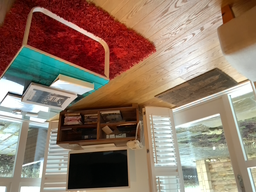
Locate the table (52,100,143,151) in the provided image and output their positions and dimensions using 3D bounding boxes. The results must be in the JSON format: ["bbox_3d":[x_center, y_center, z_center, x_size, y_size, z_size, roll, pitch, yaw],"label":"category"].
[{"bbox_3d":[-0.350,0.400,2.740,1.040,0.450,0.510,-5,155,5],"label":"table"}]

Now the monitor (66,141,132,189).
[{"bbox_3d":[-0.340,0.800,2.480,0.740,0.490,0.040,-5,155,6],"label":"monitor"}]

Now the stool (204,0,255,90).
[{"bbox_3d":[0.860,-0.370,1.210,0.510,0.370,0.570,20,147,-40],"label":"stool"}]
